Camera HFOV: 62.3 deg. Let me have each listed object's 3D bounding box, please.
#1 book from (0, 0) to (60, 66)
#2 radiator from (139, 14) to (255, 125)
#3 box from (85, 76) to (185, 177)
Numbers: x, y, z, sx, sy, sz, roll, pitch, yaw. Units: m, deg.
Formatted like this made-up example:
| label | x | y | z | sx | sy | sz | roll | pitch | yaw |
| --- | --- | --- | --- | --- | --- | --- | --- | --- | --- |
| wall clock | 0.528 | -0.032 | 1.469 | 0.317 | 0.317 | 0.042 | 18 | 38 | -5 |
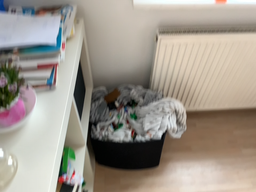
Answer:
| label | x | y | z | sx | sy | sz | roll | pitch | yaw |
| --- | --- | --- | --- | --- | --- | --- | --- | --- | --- |
| book | -0.460 | -0.270 | 0.770 | 0.360 | 0.100 | 0.370 | -3 | 50 | -5 |
| radiator | 0.780 | -0.140 | 1.320 | 1.370 | 0.720 | 0.150 | -4 | 50 | -6 |
| box | 0.010 | 0.180 | 1.280 | 0.470 | 0.380 | 0.440 | -3 | 50 | -5 |
